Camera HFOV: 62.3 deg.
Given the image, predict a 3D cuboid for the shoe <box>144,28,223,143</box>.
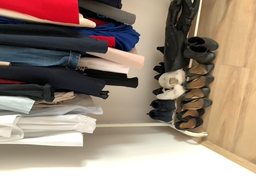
[{"bbox_3d":[0.390,-0.090,1.630,0.480,0.250,0.740,17,104,59],"label":"shoe"}]
